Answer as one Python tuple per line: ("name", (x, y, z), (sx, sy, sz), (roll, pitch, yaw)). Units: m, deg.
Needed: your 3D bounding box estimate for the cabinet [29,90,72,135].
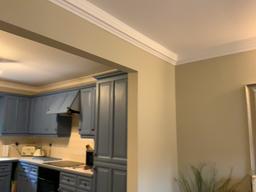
("cabinet", (-1.540, 0.350, 4.170), (0.930, 0.810, 0.310), (-7, -12, 39))
